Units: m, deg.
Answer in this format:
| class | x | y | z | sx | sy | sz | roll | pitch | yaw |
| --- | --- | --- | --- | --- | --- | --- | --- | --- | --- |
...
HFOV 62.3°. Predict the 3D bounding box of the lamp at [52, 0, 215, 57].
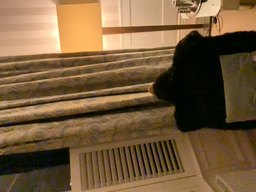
| class | x | y | z | sx | sy | sz | roll | pitch | yaw |
| --- | --- | --- | --- | --- | --- | --- | --- | --- | --- |
| lamp | 0.080 | -0.830 | 2.600 | 0.560 | 1.790 | 0.550 | -132 | 38 | -71 |
